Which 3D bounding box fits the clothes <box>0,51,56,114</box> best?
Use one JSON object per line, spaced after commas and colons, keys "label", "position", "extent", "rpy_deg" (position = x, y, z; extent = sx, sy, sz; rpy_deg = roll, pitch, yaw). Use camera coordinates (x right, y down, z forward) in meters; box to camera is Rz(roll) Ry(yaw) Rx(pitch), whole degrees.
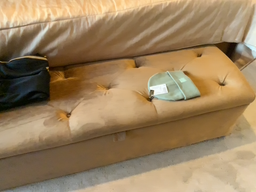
{"label": "clothes", "position": [-0.530, -0.050, 0.900], "extent": [0.400, 0.100, 0.240], "rpy_deg": [-11, 51, -12]}
